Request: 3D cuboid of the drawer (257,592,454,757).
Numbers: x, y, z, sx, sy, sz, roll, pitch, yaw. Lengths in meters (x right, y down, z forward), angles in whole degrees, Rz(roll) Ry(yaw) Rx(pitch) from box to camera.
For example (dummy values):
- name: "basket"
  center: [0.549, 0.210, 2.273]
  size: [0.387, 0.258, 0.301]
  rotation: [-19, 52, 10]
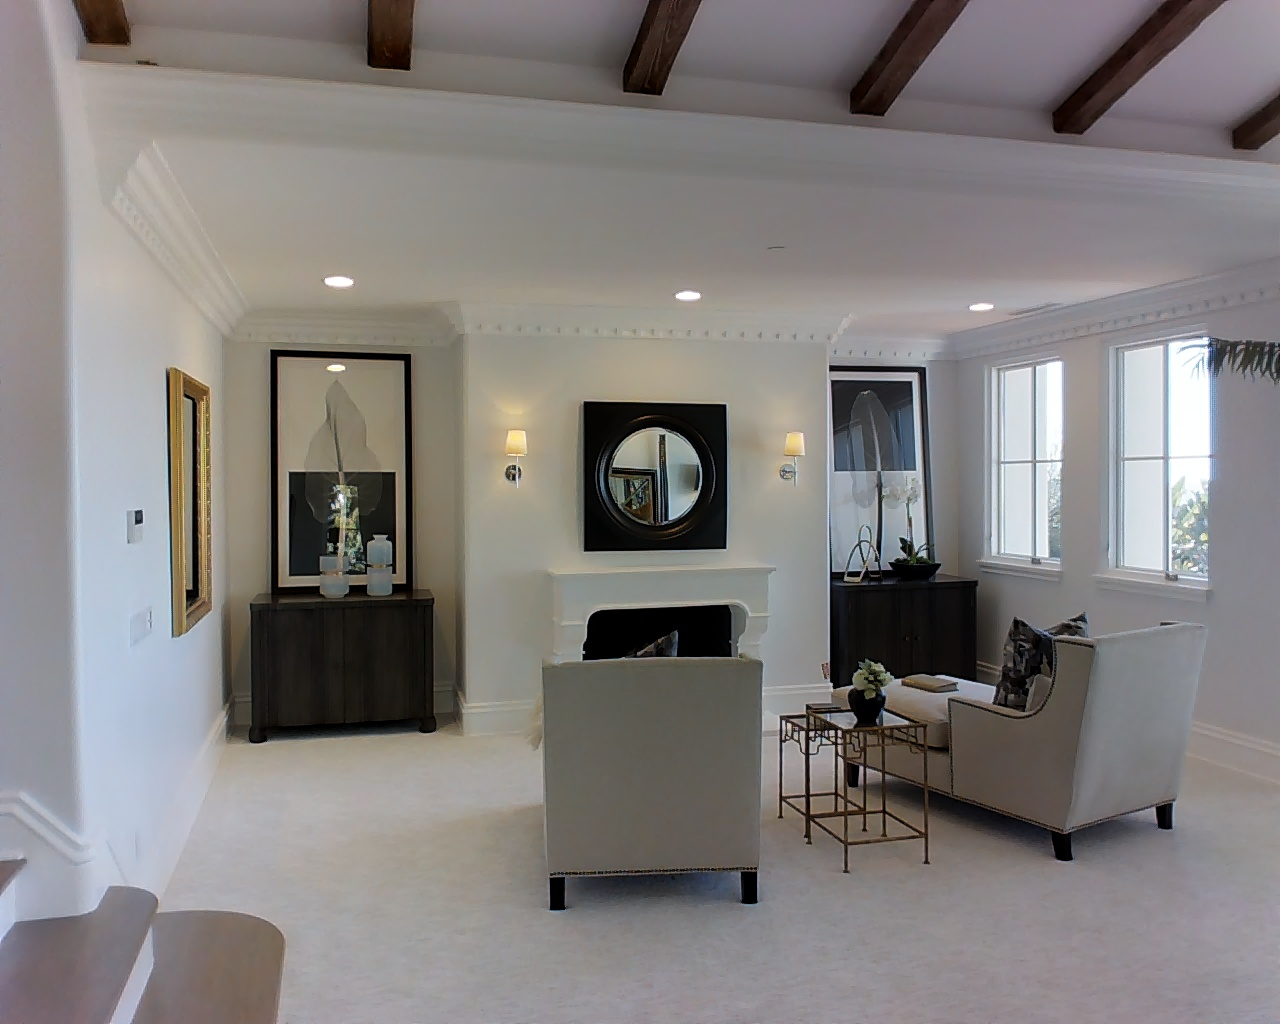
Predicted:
- name: "drawer"
  center: [-1.819, 1.020, 6.920]
  size: [1.170, 0.920, 0.530]
  rotation: [-1, 1, -15]

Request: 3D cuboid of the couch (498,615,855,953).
- name: "couch"
  center: [0.050, 1.030, 4.650]
  size: [1.100, 0.950, 1.670]
  rotation: [-1, 1, -15]

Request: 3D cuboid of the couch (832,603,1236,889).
- name: "couch"
  center: [1.819, 1.010, 5.190]
  size: [0.890, 0.950, 1.630]
  rotation: [-1, 1, -31]

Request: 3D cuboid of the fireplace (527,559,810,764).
- name: "fireplace"
  center: [0.130, 0.920, 7.200]
  size: [1.550, 1.090, 1.430]
  rotation: [-1, 1, -15]
